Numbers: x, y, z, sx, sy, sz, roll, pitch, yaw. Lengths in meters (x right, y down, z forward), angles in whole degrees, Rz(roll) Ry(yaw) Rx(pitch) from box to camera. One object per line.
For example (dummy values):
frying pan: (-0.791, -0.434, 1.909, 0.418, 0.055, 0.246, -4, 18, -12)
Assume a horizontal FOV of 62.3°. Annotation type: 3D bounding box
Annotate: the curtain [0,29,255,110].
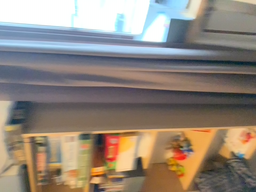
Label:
curtain: (-0.020, -0.100, 1.030, 0.170, 2.950, 0.290, -108, 25, -48)
